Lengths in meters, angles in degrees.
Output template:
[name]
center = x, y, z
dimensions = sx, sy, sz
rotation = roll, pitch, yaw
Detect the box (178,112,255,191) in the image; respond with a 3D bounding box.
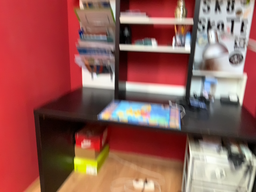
[box]
center = 0.630, 0.540, 1.600
dimensions = 0.450, 0.590, 0.730
rotation = 6, 16, 16
